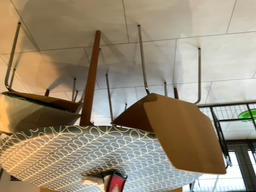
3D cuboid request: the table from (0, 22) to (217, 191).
[{"bbox_3d":[-0.170,0.230,1.600,1.210,0.720,1.160,-5,144,5],"label":"table"}]
